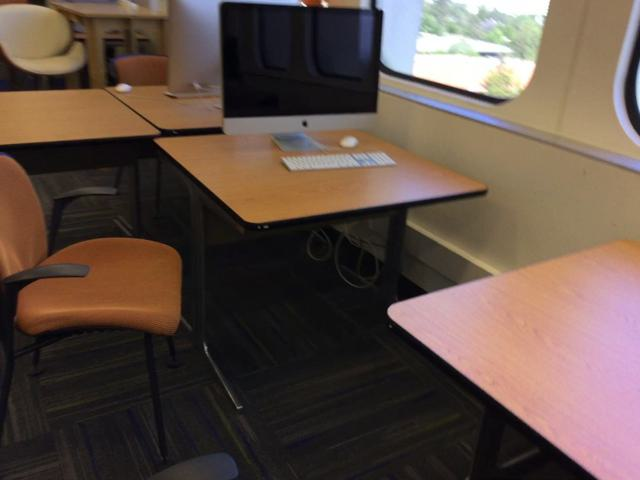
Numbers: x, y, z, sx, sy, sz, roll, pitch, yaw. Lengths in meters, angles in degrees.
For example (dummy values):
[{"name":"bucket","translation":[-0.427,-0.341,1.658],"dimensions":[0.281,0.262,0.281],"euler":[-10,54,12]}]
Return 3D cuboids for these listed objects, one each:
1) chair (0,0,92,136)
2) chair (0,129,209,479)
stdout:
[{"name":"chair","translation":[-1.930,-1.200,3.780],"dimensions":[0.620,0.890,0.630],"euler":[-10,26,-31]},{"name":"chair","translation":[-0.660,0.170,1.660],"dimensions":[0.630,0.850,0.600],"euler":[-2,23,-13]}]
